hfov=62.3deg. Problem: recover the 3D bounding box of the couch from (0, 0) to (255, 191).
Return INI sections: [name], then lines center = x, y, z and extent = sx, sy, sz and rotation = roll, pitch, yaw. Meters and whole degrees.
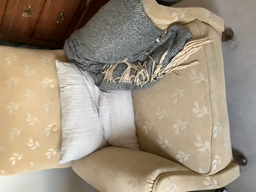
[couch]
center = -0.090, 0.030, 1.040
extent = 0.960, 0.920, 0.730
rotation = -8, 84, 47
